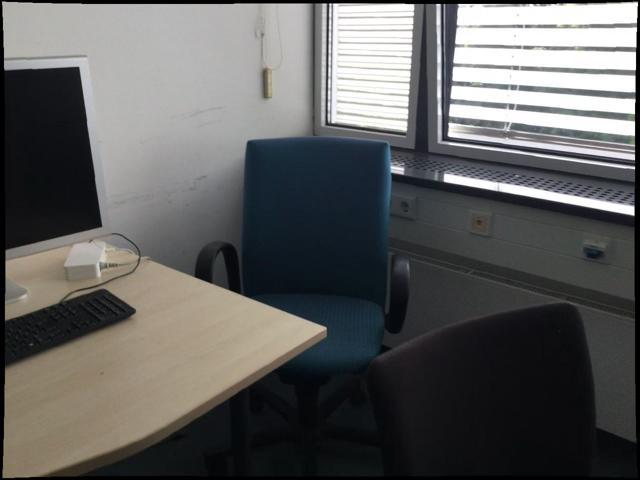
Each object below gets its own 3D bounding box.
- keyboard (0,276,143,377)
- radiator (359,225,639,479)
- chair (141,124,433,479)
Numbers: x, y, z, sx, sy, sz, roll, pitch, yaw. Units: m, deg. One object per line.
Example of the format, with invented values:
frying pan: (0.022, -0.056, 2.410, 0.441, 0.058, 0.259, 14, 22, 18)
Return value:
keyboard: (-0.599, 0.190, 1.170, 0.160, 0.040, 0.450, 17, 28, 36)
radiator: (0.659, 0.350, 1.980, 1.089, 0.520, 0.280, 17, 28, 36)
chair: (-0.040, 0.190, 1.770, 0.639, 0.941, 0.730, 1, 22, 5)
